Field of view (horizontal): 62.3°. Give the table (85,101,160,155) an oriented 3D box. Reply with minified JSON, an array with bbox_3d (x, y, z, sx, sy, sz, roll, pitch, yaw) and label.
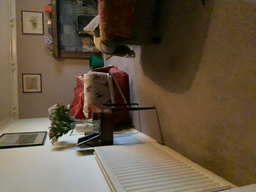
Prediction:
[{"bbox_3d":[-0.140,0.360,2.910,1.070,0.740,0.480,-171,80,-71],"label":"table"}]

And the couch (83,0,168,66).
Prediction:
[{"bbox_3d":[-0.060,-1.460,2.450,1.100,0.720,1.960,-127,39,-59],"label":"couch"}]

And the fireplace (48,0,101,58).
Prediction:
[{"bbox_3d":[-1.370,-1.900,5.400,0.610,1.220,1.750,-176,85,-71],"label":"fireplace"}]
